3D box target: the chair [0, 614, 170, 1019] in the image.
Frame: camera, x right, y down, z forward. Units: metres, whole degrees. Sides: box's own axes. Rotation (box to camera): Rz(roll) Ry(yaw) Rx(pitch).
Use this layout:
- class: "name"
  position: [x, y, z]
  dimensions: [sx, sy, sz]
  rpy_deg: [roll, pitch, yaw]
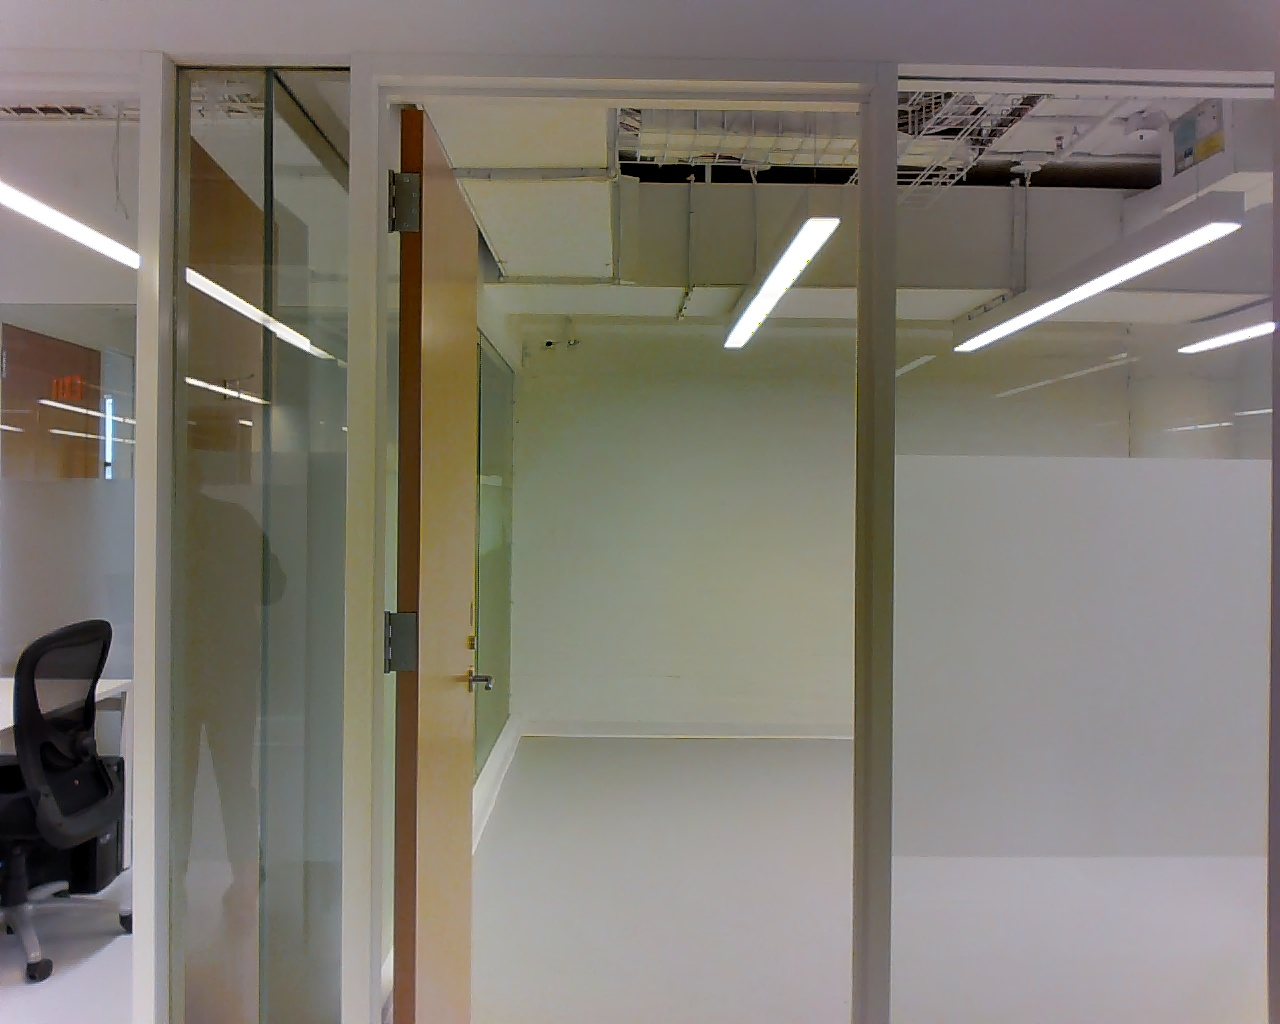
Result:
- class: "chair"
  position: [-2.060, 0.900, 3.470]
  dimensions: [0.700, 1.050, 0.950]
  rpy_deg: [1, 0, -5]
